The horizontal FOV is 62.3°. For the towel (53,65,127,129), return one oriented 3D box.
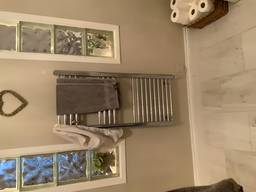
[{"bbox_3d":[-0.290,0.010,1.600,0.180,0.510,0.430,158,109,-66],"label":"towel"}]
